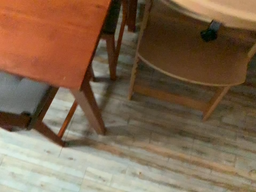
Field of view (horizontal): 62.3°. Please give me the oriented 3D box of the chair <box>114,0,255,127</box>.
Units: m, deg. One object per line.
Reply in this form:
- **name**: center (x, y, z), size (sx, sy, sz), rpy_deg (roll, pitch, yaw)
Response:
- **chair**: center (0.280, -0.300, 0.860), size (0.510, 0.910, 0.550), rpy_deg (17, 71, 4)
